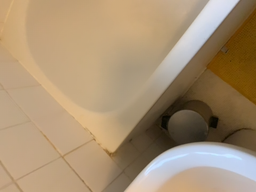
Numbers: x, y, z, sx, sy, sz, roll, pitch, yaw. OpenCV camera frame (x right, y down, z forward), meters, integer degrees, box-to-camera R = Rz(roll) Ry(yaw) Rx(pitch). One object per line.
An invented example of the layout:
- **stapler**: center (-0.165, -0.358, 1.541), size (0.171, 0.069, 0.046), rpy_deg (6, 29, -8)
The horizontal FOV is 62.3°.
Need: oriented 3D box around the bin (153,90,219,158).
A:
- **bin**: center (0.290, 0.120, 1.020), size (0.180, 0.270, 0.190), rpy_deg (43, 115, 13)
